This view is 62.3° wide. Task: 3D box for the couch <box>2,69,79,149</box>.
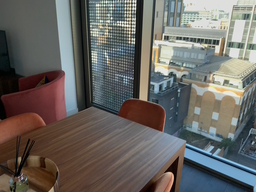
[{"bbox_3d":[-1.060,0.120,2.800,0.710,0.790,0.760,-2,21,-9],"label":"couch"}]
